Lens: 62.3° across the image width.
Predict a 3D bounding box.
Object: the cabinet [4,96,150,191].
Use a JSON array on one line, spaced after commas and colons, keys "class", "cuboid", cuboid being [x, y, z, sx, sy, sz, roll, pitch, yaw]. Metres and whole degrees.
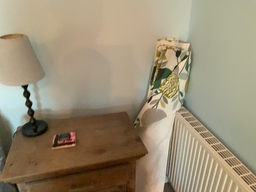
[{"class": "cabinet", "cuboid": [-0.250, 0.510, 1.240, 0.570, 0.800, 0.510, -9, 29, -15]}]
